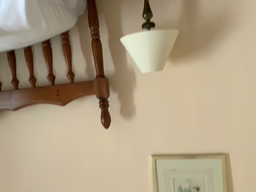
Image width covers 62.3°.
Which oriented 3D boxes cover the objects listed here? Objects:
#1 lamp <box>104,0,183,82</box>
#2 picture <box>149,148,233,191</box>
[{"bbox_3d":[0.070,-0.300,0.890,0.260,0.440,0.250,-6,-174,11],"label":"lamp"},{"bbox_3d":[0.320,0.500,1.060,0.380,0.470,0.030,-5,-174,12],"label":"picture"}]
